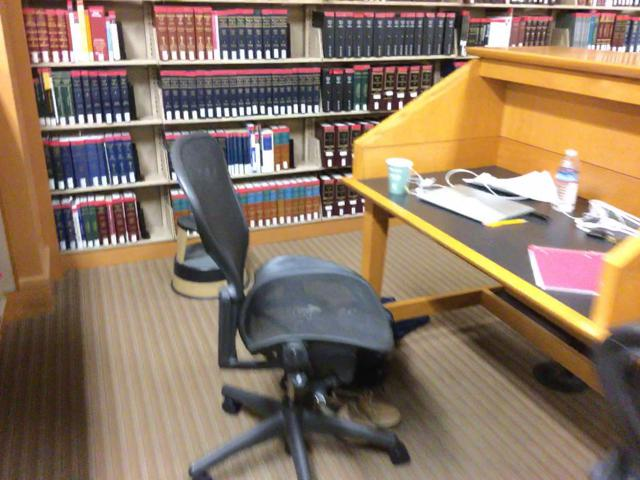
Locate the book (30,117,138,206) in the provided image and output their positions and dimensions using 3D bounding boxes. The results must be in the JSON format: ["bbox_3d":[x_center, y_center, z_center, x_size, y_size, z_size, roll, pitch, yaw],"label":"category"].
[{"bbox_3d":[-1.220,-0.420,3.010,0.440,0.350,0.270,-11,24,-19],"label":"book"}]

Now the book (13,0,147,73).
[{"bbox_3d":[-1.140,-1.000,2.780,0.520,0.310,0.270,-11,24,-19],"label":"book"}]

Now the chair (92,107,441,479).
[{"bbox_3d":[-0.110,0.220,1.720,0.730,1.060,0.670,-5,23,-4],"label":"chair"}]

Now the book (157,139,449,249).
[{"bbox_3d":[-0.050,-0.320,3.600,1.810,0.340,0.250,-11,24,-19],"label":"book"}]

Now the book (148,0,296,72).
[{"bbox_3d":[-0.510,-1.100,3.070,0.710,0.320,0.230,-11,24,-19],"label":"book"}]

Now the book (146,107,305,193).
[{"bbox_3d":[-0.530,-0.530,3.320,0.830,0.340,0.250,-11,24,-19],"label":"book"}]

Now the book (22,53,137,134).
[{"bbox_3d":[-1.190,-0.740,2.890,0.460,0.320,0.260,-11,24,-19],"label":"book"}]

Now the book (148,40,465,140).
[{"bbox_3d":[-0.020,-0.910,3.390,1.840,0.360,0.280,-11,24,-19],"label":"book"}]

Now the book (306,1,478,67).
[{"bbox_3d":[0.440,-1.230,3.420,1.040,0.290,0.160,-11,24,-19],"label":"book"}]

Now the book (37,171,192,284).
[{"bbox_3d":[-1.100,-0.080,3.150,0.700,0.450,0.220,-11,24,-19],"label":"book"}]
